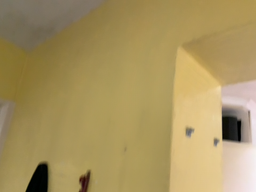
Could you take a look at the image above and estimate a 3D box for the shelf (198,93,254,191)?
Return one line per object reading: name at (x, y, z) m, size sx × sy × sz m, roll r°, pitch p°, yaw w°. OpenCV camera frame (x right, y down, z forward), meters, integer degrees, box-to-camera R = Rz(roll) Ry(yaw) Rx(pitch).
shelf at (0.760, 0.500, 1.650) m, size 0.310 × 0.980 × 0.270 m, roll -8°, pitch -22°, yaw 41°
